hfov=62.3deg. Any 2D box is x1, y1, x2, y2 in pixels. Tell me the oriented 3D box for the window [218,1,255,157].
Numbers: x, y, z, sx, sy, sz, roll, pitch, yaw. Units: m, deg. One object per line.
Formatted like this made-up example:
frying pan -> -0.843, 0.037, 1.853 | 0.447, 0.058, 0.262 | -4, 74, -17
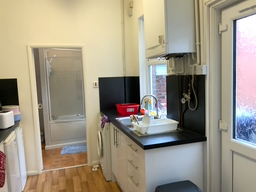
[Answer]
window -> 0.980, -0.110, 1.480 | 0.150, 1.090, 0.750 | -4, 7, -20
